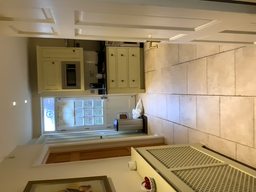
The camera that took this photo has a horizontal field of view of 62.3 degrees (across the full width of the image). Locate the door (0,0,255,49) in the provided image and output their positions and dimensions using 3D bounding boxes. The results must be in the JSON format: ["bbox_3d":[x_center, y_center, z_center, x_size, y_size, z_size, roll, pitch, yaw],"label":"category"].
[{"bbox_3d":[0.210,-0.400,1.190,0.880,2.000,0.080,-168,77,-75],"label":"door"}]
